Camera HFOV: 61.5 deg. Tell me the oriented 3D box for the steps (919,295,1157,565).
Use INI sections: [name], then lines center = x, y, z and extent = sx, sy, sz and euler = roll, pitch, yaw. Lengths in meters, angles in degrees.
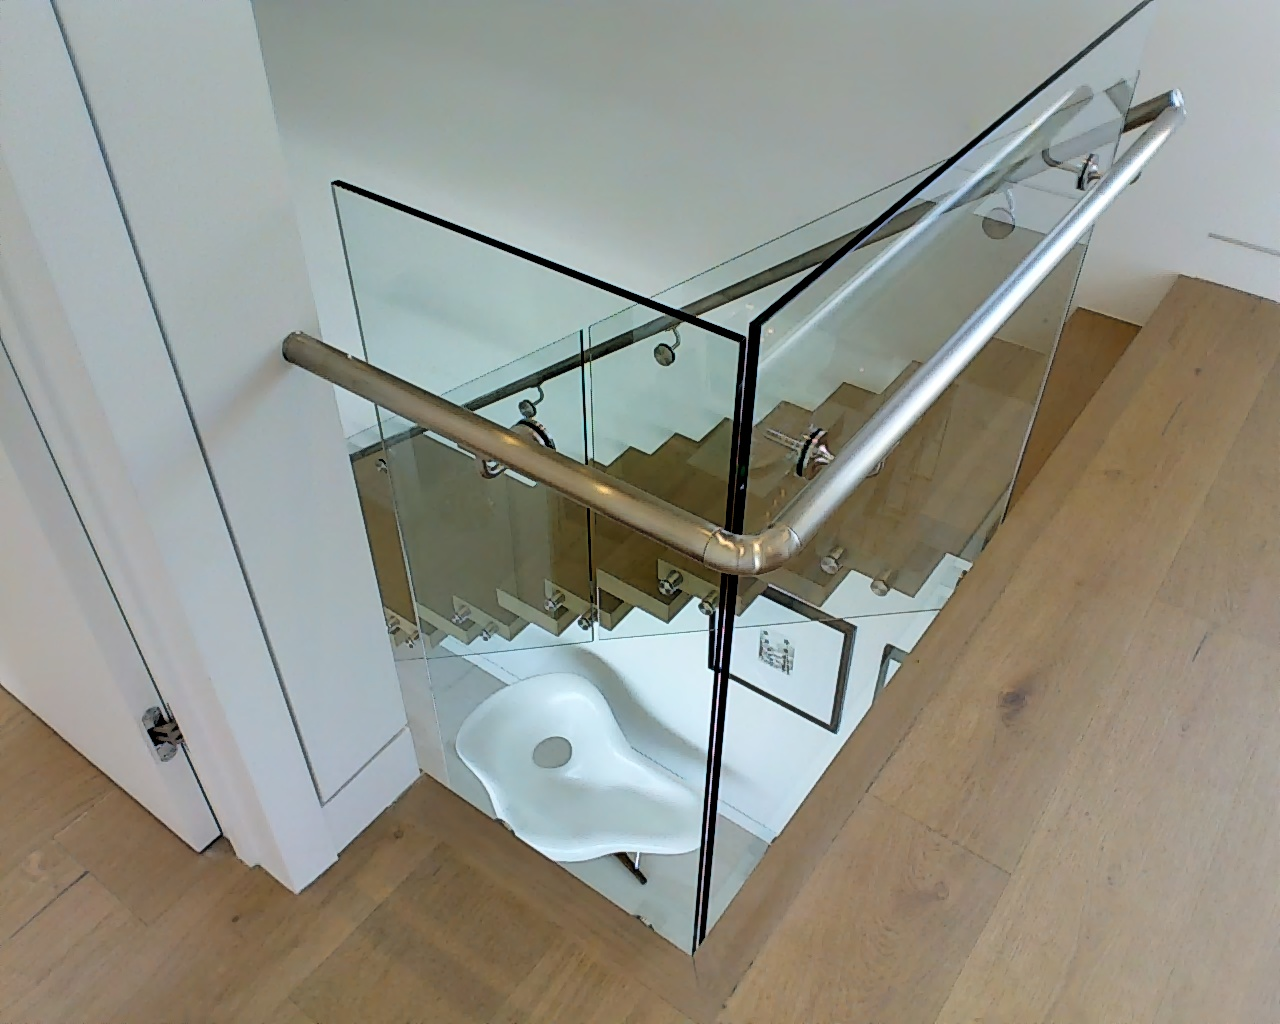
[steps]
center = 1.150, -0.280, 3.010
extent = 0.200, 0.070, 1.260
euler = 26, 48, 25
